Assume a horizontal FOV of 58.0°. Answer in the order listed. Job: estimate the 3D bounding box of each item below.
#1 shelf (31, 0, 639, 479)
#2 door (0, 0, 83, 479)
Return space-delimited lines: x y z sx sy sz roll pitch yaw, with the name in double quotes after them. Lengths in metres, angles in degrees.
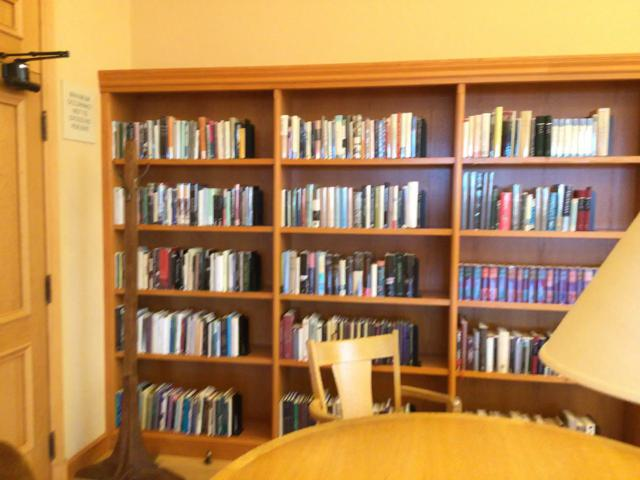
0.650 0.120 2.950 3.840 2.410 0.900 -2 5 10 "shelf"
-1.400 -0.050 2.320 0.210 2.690 1.030 -3 0 10 "door"
